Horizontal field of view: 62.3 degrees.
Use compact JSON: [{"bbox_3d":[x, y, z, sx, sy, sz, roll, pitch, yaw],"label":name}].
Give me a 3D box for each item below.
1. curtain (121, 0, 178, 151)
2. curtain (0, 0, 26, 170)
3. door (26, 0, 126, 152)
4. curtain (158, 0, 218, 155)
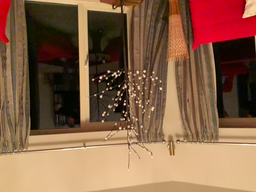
[{"bbox_3d":[0.250,-0.420,2.620,0.580,2.090,0.200,-1,176,-14],"label":"curtain"},{"bbox_3d":[-1.230,-0.310,2.120,0.350,2.020,0.170,-1,176,-21],"label":"curtain"},{"bbox_3d":[-0.680,-0.370,2.880,1.260,2.100,0.110,-1,176,-18],"label":"door"},{"bbox_3d":[0.730,-0.340,2.600,0.530,1.980,0.360,-4,176,32],"label":"curtain"}]
